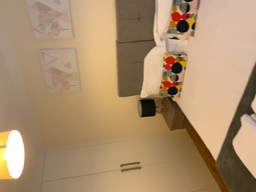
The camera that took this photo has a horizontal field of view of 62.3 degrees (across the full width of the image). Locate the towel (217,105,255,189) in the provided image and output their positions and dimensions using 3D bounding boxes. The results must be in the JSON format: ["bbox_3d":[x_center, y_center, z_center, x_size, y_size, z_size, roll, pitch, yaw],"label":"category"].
[{"bbox_3d":[0.830,0.350,1.480,0.400,0.100,0.400,-108,16,-51],"label":"towel"}]
